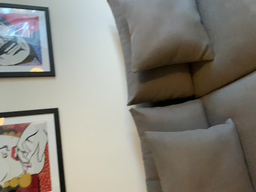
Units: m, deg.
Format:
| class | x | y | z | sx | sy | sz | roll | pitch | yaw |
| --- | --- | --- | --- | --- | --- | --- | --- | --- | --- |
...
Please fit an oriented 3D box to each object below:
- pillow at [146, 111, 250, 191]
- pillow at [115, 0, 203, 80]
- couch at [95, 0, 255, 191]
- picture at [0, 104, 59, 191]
| class | x | y | z | sx | sy | sz | roll | pitch | yaw |
| --- | --- | --- | --- | --- | --- | --- | --- | --- | --- |
| pillow | 0.390 | 0.460 | 1.200 | 0.240 | 0.500 | 0.590 | 134 | 151 | -59 |
| pillow | 0.240 | -0.500 | 1.470 | 0.200 | 0.500 | 0.630 | 131 | 156 | -57 |
| couch | 0.490 | -0.050 | 1.380 | 1.040 | 0.850 | 2.360 | 138 | 124 | -59 |
| picture | -0.840 | 0.360 | 1.250 | 0.020 | 0.780 | 0.600 | 139 | 124 | -60 |
